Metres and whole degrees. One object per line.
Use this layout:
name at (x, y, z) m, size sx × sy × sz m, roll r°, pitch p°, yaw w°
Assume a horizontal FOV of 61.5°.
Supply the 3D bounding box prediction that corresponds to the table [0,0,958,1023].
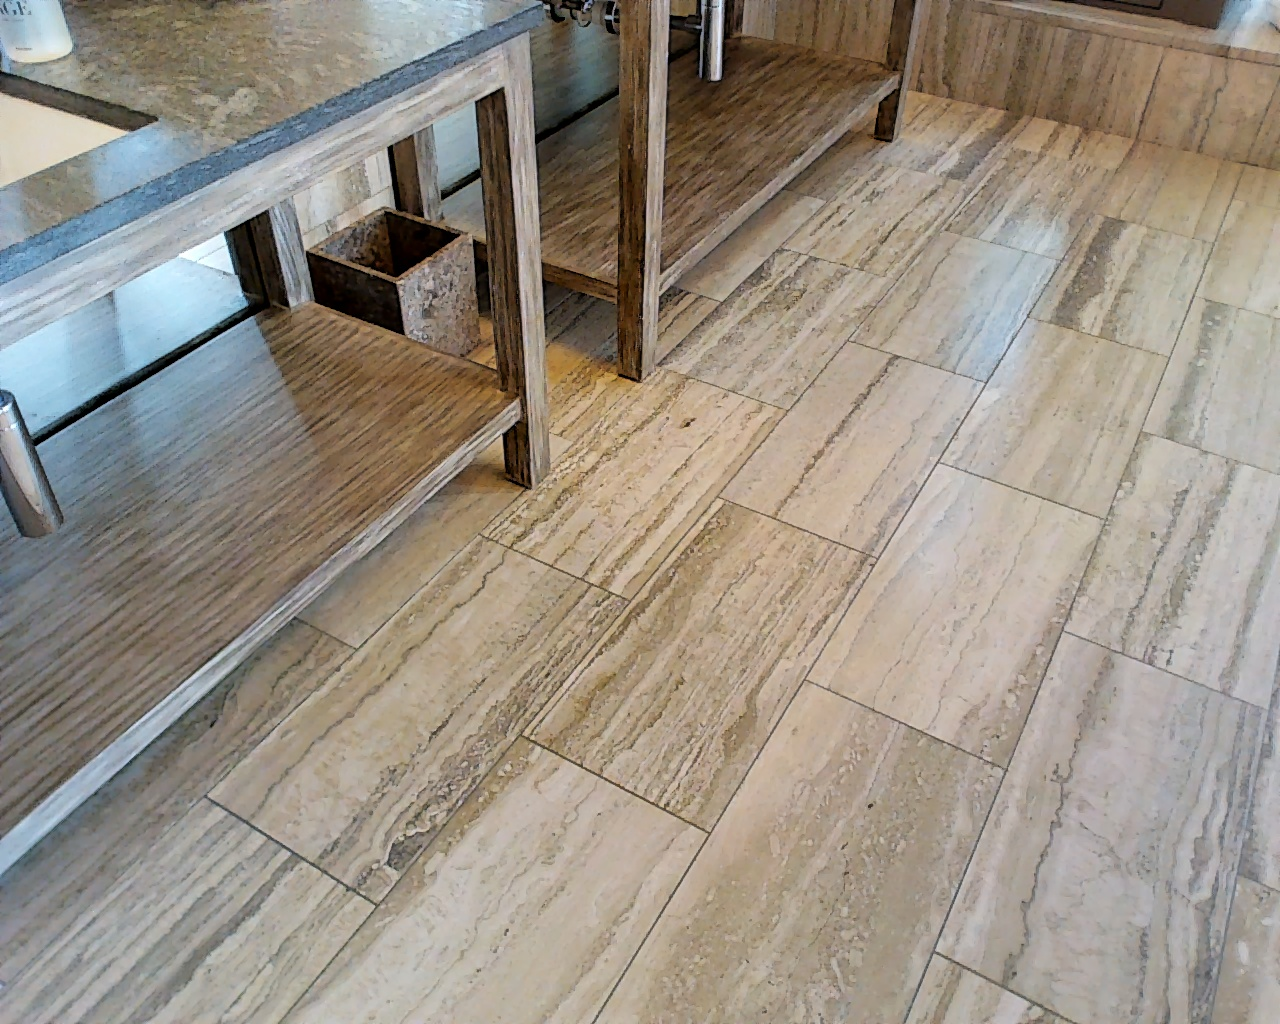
table at (-0.400, -0.620, 2.020) m, size 0.930 × 0.790 × 3.580 m, roll 21°, pitch 45°, yaw 22°
